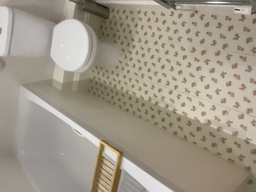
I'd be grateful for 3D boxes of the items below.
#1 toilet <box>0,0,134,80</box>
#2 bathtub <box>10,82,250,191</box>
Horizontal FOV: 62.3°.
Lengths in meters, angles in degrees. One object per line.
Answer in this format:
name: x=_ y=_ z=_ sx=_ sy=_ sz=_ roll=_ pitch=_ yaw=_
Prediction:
toilet: x=-0.480 y=-0.400 z=1.620 sx=0.650 sy=0.770 sz=0.370 roll=20 pitch=103 yaw=41
bathtub: x=-0.210 y=0.460 z=1.510 sx=1.660 sy=0.560 sz=0.690 roll=23 pitch=105 yaw=40
